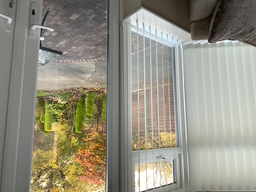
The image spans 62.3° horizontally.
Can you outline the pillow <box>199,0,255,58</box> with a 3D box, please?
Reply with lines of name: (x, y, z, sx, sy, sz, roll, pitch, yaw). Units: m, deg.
pillow: (0.860, -0.660, 1.630, 0.490, 0.560, 0.190, -29, -169, -18)
